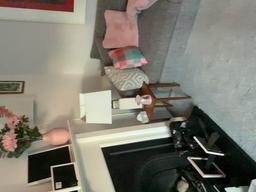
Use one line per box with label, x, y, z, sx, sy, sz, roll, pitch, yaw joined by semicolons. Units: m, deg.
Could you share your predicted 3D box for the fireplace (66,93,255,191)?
fireplace;0.270;0.710;1.640;1.510;1.250;0.690;-122;36;-48
